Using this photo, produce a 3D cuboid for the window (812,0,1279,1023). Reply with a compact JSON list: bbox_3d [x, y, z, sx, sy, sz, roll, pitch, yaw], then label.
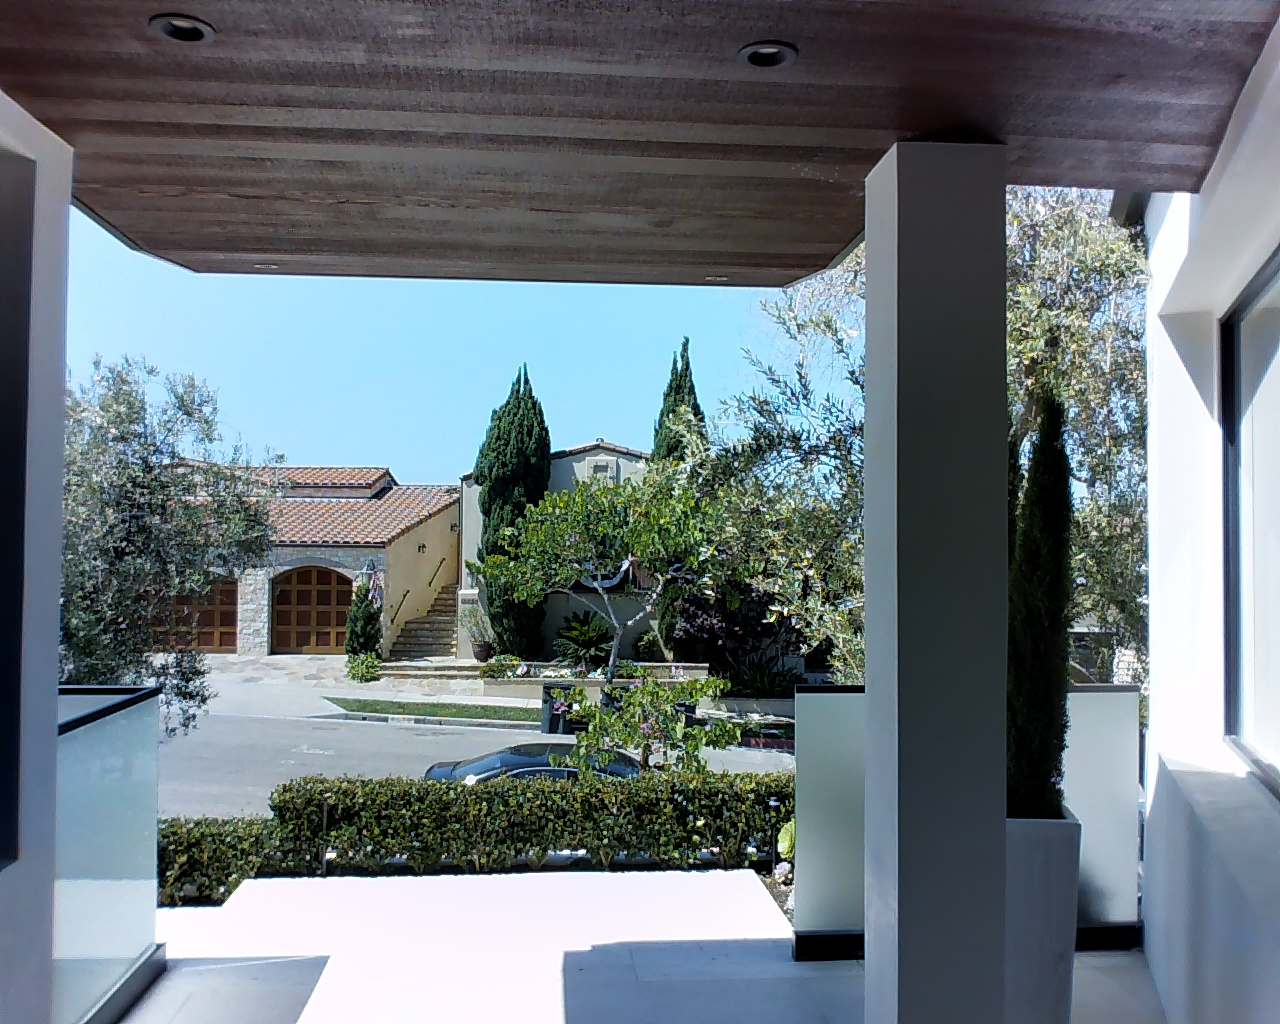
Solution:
[{"bbox_3d":[1.590,-0.080,2.560,1.890,3.410,0.530,8,-2,-5],"label":"window"}]
